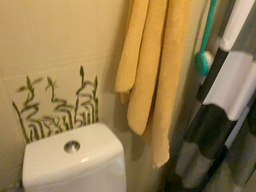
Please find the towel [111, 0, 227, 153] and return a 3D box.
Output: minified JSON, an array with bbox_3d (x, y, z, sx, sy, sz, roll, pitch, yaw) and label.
[{"bbox_3d":[0.100,-0.220,0.510,0.240,0.840,0.130,-17,42,-25],"label":"towel"}]
